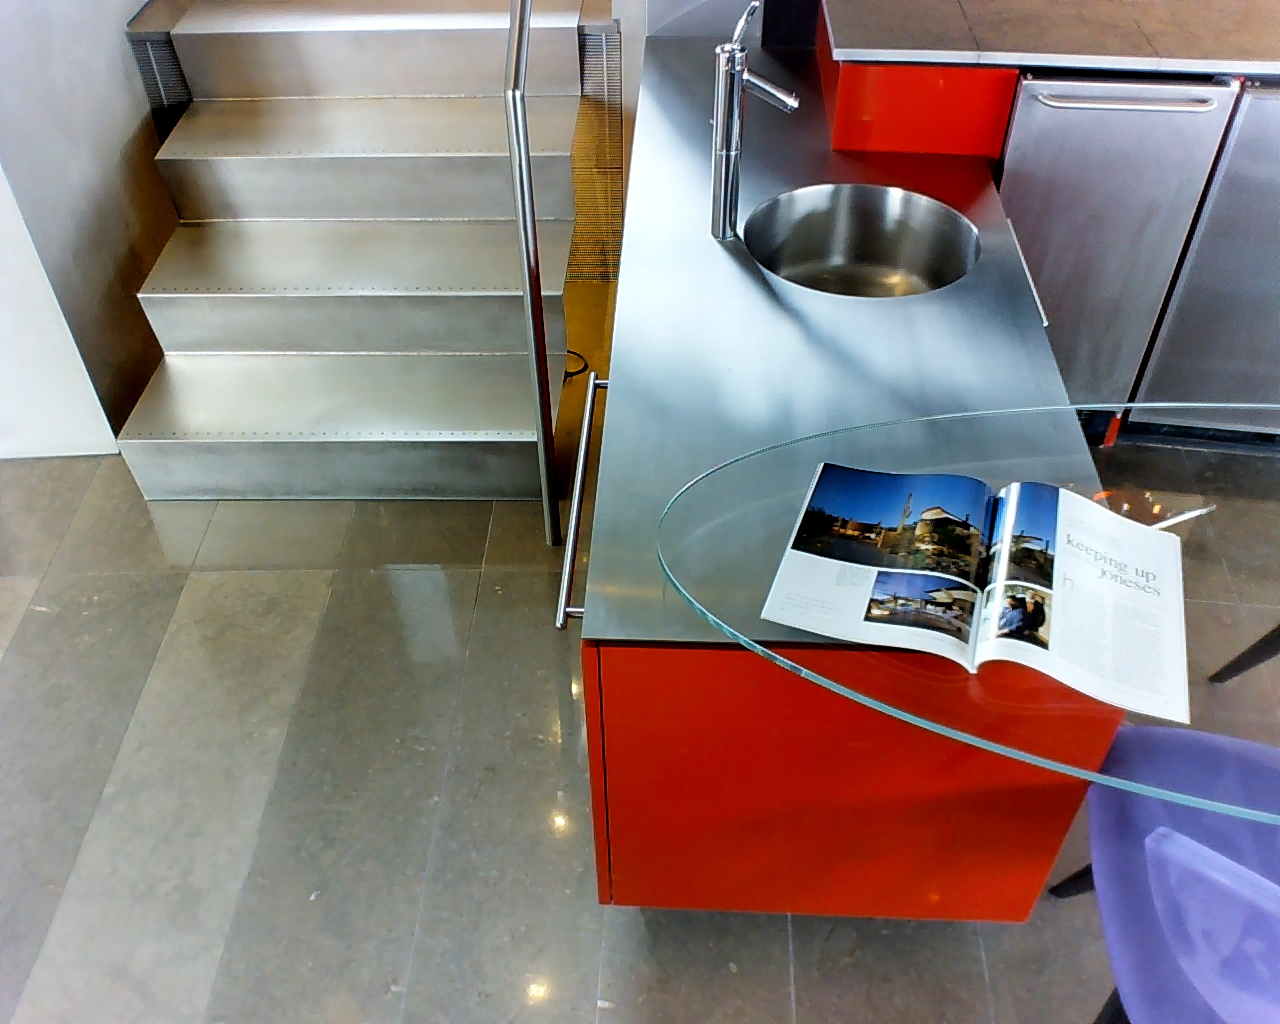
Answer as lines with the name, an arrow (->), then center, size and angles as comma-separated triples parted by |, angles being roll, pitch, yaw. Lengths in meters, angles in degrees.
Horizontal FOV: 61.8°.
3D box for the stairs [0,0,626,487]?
stairs -> -0.660, -0.850, 2.680 | 1.210, 0.900, 1.330 | 0, 44, 1
